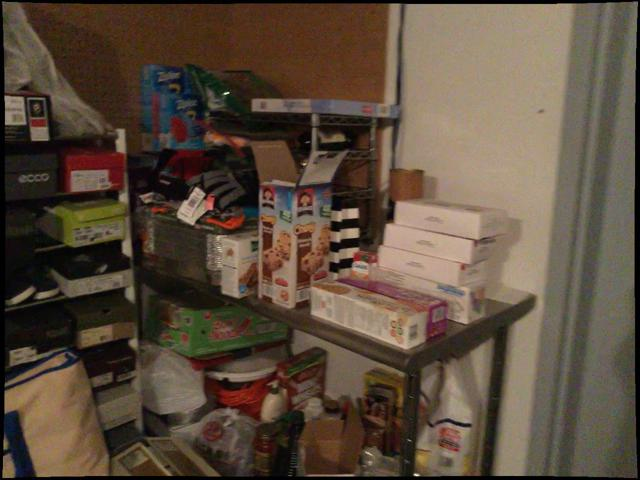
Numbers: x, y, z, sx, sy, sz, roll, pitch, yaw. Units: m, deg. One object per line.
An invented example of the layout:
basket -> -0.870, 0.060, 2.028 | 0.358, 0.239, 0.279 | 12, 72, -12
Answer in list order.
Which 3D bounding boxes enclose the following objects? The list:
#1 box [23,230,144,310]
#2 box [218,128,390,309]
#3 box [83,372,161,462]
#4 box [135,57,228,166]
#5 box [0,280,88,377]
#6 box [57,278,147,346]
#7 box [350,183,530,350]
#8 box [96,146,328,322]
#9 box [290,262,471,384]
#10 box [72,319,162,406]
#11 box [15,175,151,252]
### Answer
box -> -0.719, 0.080, 1.760 | 0.290, 0.140, 0.230 | 14, 19, 41
box -> -0.040, -0.080, 1.470 | 0.270, 0.380, 0.330 | 15, 19, 42
box -> -0.619, 0.551, 1.820 | 0.100, 0.190, 0.200 | 14, 19, 41
box -> -0.470, -0.440, 1.980 | 0.190, 0.340, 0.230 | 14, 19, 41
box -> -0.839, 0.240, 1.660 | 0.330, 0.140, 0.190 | 14, 19, 41
box -> -0.649, 0.210, 1.730 | 0.150, 0.120, 0.200 | 14, 19, 41
box -> 0.290, 0.040, 1.420 | 0.300, 0.300, 0.300 | 15, 19, 42
box -> -0.330, -0.060, 1.640 | 0.700, 0.340, 0.270 | 15, 19, 42
box -> 0.130, 0.170, 1.310 | 0.330, 0.130, 0.230 | 15, 19, 42
box -> -0.619, 0.370, 1.780 | 0.100, 0.180, 0.230 | 14, 19, 41
box -> -0.709, -0.090, 1.730 | 0.310, 0.150, 0.260 | 14, 19, 41
